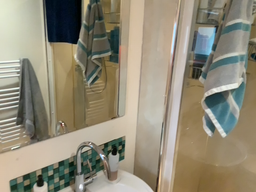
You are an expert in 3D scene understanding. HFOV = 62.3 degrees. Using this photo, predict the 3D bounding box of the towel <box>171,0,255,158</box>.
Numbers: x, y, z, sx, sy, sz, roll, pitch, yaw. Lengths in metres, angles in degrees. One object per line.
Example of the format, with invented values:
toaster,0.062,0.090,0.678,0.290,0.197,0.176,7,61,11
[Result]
towel,0.330,-0.110,0.790,0.210,0.610,0.160,19,23,41

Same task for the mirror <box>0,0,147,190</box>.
mirror,-0.220,-0.090,0.900,0.080,0.720,0.800,18,23,39
